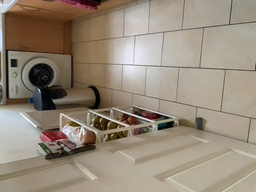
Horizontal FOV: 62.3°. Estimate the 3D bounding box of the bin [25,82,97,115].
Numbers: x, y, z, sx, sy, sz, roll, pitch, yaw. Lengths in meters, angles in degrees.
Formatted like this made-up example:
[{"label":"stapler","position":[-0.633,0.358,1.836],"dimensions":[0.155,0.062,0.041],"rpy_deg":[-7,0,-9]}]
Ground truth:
[{"label":"bin","position":[-0.790,0.000,2.500],"dimensions":[0.470,0.680,0.280],"rpy_deg":[13,103,50]}]
